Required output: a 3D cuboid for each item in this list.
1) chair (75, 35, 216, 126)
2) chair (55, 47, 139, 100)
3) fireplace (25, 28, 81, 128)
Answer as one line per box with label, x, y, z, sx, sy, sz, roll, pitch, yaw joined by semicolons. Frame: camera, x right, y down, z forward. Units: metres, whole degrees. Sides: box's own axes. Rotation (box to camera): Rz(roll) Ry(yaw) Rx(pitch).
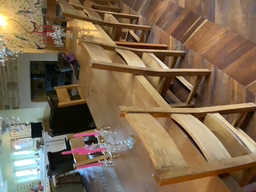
chair;0.130;-0.150;1.890;0.450;1.050;0.550;58;142;43
chair;-0.460;-0.330;3.030;0.530;1.030;0.480;56;140;45
fireplace;-2.360;-0.490;6.460;1.270;1.260;2.630;57;141;45
